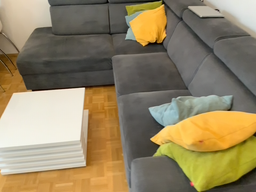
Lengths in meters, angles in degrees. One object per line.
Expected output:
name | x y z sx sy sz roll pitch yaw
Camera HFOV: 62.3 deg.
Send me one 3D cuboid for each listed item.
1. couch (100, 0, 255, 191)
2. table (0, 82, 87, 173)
couch | 0.330 -0.290 1.930 1.090 0.850 2.500 -4 38 -5
table | -0.690 0.220 1.720 0.650 0.320 0.640 -4 38 -5
